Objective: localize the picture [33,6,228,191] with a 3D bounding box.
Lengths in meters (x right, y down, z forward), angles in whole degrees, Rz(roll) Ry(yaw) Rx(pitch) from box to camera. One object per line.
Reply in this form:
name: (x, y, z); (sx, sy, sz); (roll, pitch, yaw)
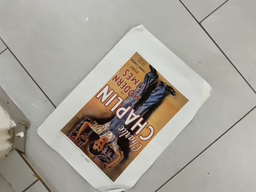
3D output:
picture: (0.010, 0.010, 0.410); (0.280, 0.020, 0.240); (-44, 91, -5)
